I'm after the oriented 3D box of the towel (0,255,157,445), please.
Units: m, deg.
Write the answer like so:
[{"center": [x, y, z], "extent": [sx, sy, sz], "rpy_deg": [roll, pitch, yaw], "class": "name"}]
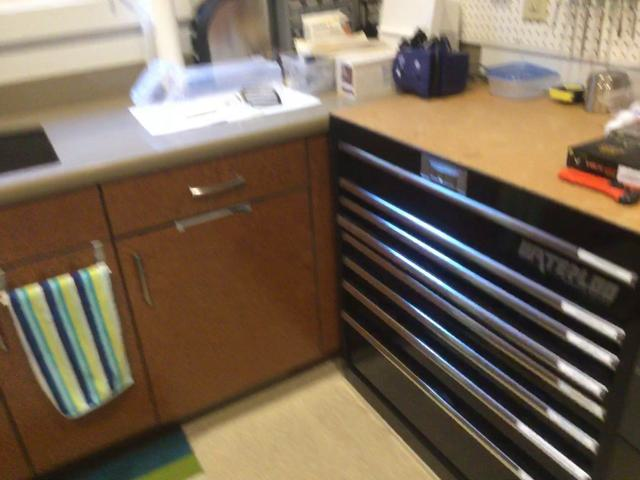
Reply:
[{"center": [-0.560, 0.260, 1.360], "extent": [0.270, 0.390, 0.070], "rpy_deg": [-19, 31, -27], "class": "towel"}]
